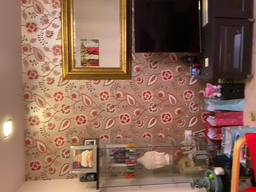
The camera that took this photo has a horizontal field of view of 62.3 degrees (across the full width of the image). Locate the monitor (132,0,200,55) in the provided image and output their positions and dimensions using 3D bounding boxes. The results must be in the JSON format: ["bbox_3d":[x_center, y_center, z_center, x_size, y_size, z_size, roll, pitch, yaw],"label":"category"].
[{"bbox_3d":[0.410,-1.110,2.260,0.070,0.730,1.310,-165,75,-83],"label":"monitor"}]
